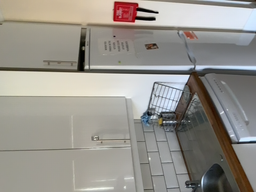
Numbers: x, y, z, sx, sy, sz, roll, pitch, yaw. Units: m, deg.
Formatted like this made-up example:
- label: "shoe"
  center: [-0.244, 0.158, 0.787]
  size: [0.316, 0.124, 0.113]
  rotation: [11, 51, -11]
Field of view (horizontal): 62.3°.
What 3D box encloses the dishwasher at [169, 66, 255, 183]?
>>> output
- label: "dishwasher"
  center: [0.920, 0.230, 1.700]
  size: [0.620, 0.910, 0.650]
  rotation: [100, 168, -46]
